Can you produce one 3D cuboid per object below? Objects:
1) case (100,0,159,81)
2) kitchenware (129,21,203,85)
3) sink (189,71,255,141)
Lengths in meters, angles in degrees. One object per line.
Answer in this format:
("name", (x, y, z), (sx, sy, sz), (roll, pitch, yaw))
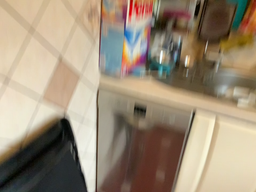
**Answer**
("case", (0.020, -0.350, 1.030), (0.160, 0.430, 0.360), (13, 30, 14))
("kitchenware", (0.230, -0.280, 1.320), (0.370, 0.280, 0.230), (16, 31, 18))
("sink", (0.590, 0.040, 1.130), (0.440, 0.130, 0.410), (15, 30, 18))
